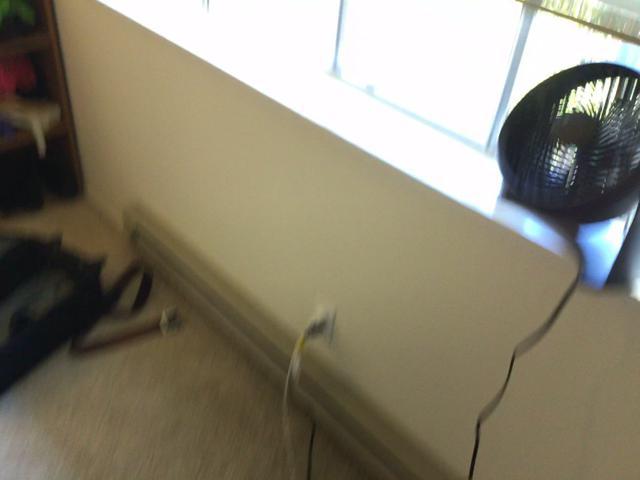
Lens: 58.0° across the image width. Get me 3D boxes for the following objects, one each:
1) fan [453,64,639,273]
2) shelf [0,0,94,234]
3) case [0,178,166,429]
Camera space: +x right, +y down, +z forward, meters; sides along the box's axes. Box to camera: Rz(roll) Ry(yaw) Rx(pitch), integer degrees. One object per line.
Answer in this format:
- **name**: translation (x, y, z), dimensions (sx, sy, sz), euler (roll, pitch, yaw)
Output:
- **fan**: translation (0.340, -0.110, 0.830), dimensions (0.140, 0.200, 0.210), euler (-27, 48, -37)
- **shelf**: translation (-1.250, -0.500, 1.950), dimensions (0.380, 0.950, 0.690), euler (34, 44, 32)
- **case**: translation (-1.040, 0.130, 1.860), dimensions (0.780, 0.180, 0.700), euler (19, 38, 17)
